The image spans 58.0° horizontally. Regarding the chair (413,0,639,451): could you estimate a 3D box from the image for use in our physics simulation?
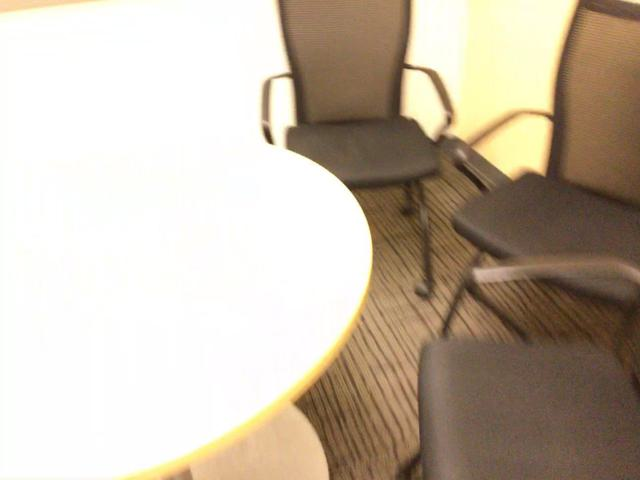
[{"bbox_3d":[0.680,-0.090,1.470,0.600,0.860,0.580,28,45,36],"label":"chair"}]

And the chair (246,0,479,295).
[{"bbox_3d":[0.100,-0.360,1.890,0.570,0.860,0.590,-4,35,-2],"label":"chair"}]
